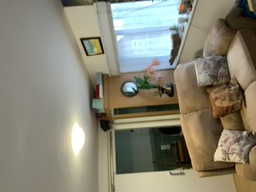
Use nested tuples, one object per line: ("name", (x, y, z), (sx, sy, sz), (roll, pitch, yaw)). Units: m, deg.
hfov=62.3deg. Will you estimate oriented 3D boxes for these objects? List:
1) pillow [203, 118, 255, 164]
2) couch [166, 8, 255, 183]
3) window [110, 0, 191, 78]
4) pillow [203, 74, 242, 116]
("pillow", (1.060, 0.480, 2.200), (0.420, 0.350, 0.370), (87, 179, -66))
("couch", (1.160, 0.020, 2.450), (0.990, 1.040, 1.700), (87, 179, -64))
("window", (0.260, -0.860, 3.110), (1.540, 0.890, 0.380), (87, 179, -64))
("pillow", (1.090, 0.000, 2.460), (0.210, 0.310, 0.380), (24, -124, -54))
